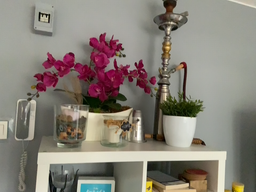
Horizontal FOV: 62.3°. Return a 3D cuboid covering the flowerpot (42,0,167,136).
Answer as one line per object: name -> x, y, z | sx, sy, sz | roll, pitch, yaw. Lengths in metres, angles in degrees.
flowerpot -> -0.120, -0.100, 1.070 | 0.540, 0.560, 0.270 | 5, -4, -22
